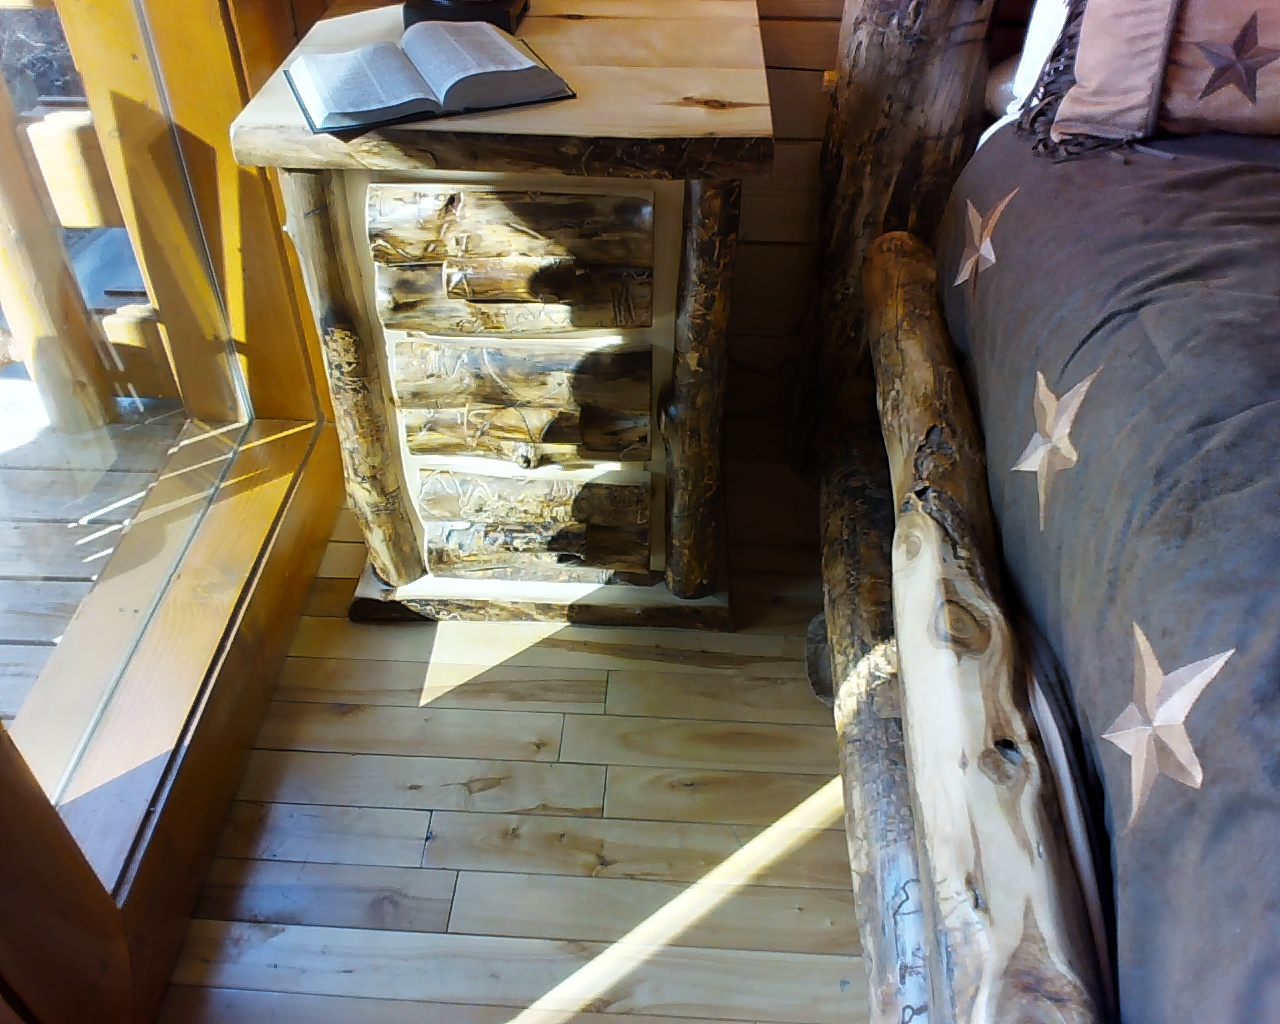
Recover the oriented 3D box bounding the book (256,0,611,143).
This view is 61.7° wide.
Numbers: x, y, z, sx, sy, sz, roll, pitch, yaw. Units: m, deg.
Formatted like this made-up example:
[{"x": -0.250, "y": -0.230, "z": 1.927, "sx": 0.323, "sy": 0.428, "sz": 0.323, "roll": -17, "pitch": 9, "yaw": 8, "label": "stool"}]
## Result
[{"x": -0.240, "y": -0.530, "z": 1.230, "sx": 0.340, "sy": 0.070, "sz": 0.260, "roll": -14, "pitch": 45, "yaw": -18, "label": "book"}]
